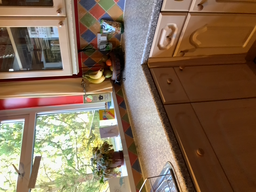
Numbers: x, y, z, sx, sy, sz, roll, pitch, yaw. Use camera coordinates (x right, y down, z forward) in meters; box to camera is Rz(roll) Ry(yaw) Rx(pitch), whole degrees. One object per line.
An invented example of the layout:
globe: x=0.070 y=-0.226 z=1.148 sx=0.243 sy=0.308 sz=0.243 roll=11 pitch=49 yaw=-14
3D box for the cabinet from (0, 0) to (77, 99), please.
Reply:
cabinet: x=-0.820 y=-0.490 z=1.390 sx=1.170 sy=0.880 sz=0.330 roll=102 pitch=159 yaw=-48

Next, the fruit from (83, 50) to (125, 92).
fruit: x=-0.220 y=-0.220 z=1.860 sx=0.170 sy=0.320 sz=0.310 roll=116 pitch=147 yaw=-64

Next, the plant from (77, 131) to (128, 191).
plant: x=-0.210 y=0.500 z=1.610 sx=0.230 sy=0.320 sz=0.370 roll=103 pitch=158 yaw=-51
